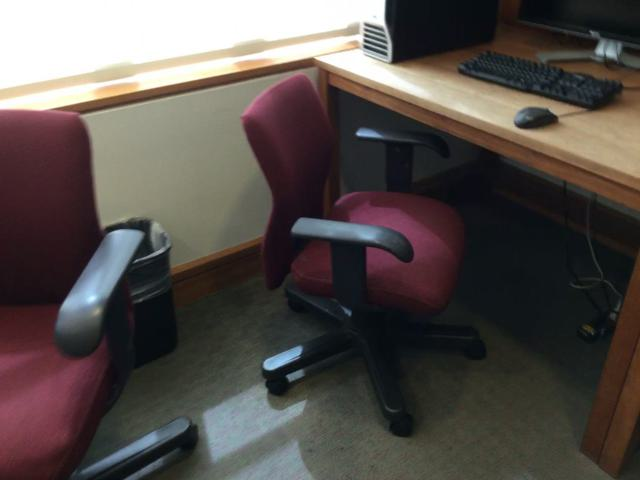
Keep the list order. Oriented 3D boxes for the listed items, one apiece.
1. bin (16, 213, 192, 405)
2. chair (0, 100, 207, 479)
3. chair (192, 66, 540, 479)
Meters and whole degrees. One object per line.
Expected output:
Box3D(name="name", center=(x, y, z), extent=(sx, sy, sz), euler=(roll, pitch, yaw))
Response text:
Box3D(name="bin", center=(-0.630, 0.190, 1.720), extent=(0.380, 0.390, 0.270), euler=(-17, 34, -29))
Box3D(name="chair", center=(-0.620, 0.270, 1.100), extent=(0.680, 0.920, 0.580), euler=(-1, 29, -4))
Box3D(name="chair", center=(0.130, 0.030, 1.580), extent=(0.630, 0.800, 0.610), euler=(17, 33, 25))
